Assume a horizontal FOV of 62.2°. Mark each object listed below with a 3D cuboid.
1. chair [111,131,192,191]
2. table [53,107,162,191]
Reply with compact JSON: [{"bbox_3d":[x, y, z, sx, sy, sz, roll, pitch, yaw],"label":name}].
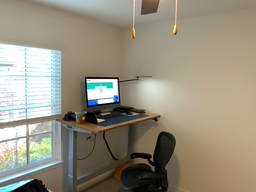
[{"bbox_3d":[0.210,0.960,2.510,0.760,0.920,0.730,1,6,-8],"label":"chair"},{"bbox_3d":[-0.230,0.810,2.940,0.820,1.100,1.270,6,7,39],"label":"table"}]
